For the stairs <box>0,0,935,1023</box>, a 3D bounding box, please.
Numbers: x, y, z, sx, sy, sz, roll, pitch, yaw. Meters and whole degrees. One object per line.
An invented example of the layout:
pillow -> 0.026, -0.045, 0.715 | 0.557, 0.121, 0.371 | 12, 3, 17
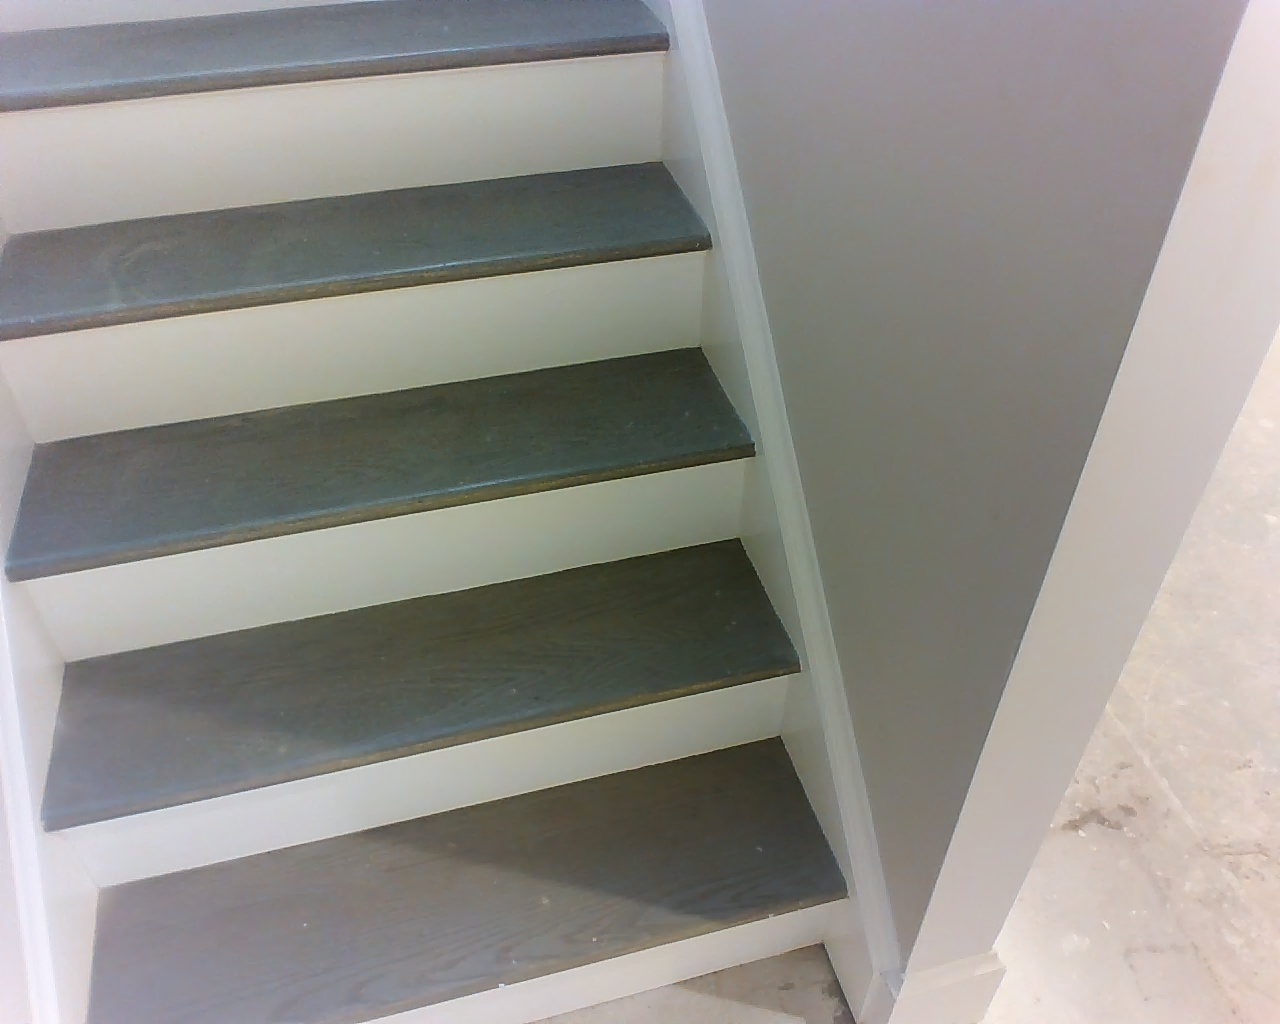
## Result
stairs -> -0.520, -1.010, 1.620 | 1.020, 3.700, 0.530 | -10, -5, -12
